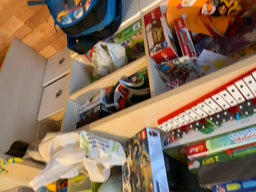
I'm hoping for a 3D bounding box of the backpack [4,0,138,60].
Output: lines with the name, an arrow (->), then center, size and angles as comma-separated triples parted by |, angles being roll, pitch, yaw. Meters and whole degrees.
backpack -> -0.220, -0.460, 0.930 | 0.350, 0.310, 0.400 | -23, 140, 25
